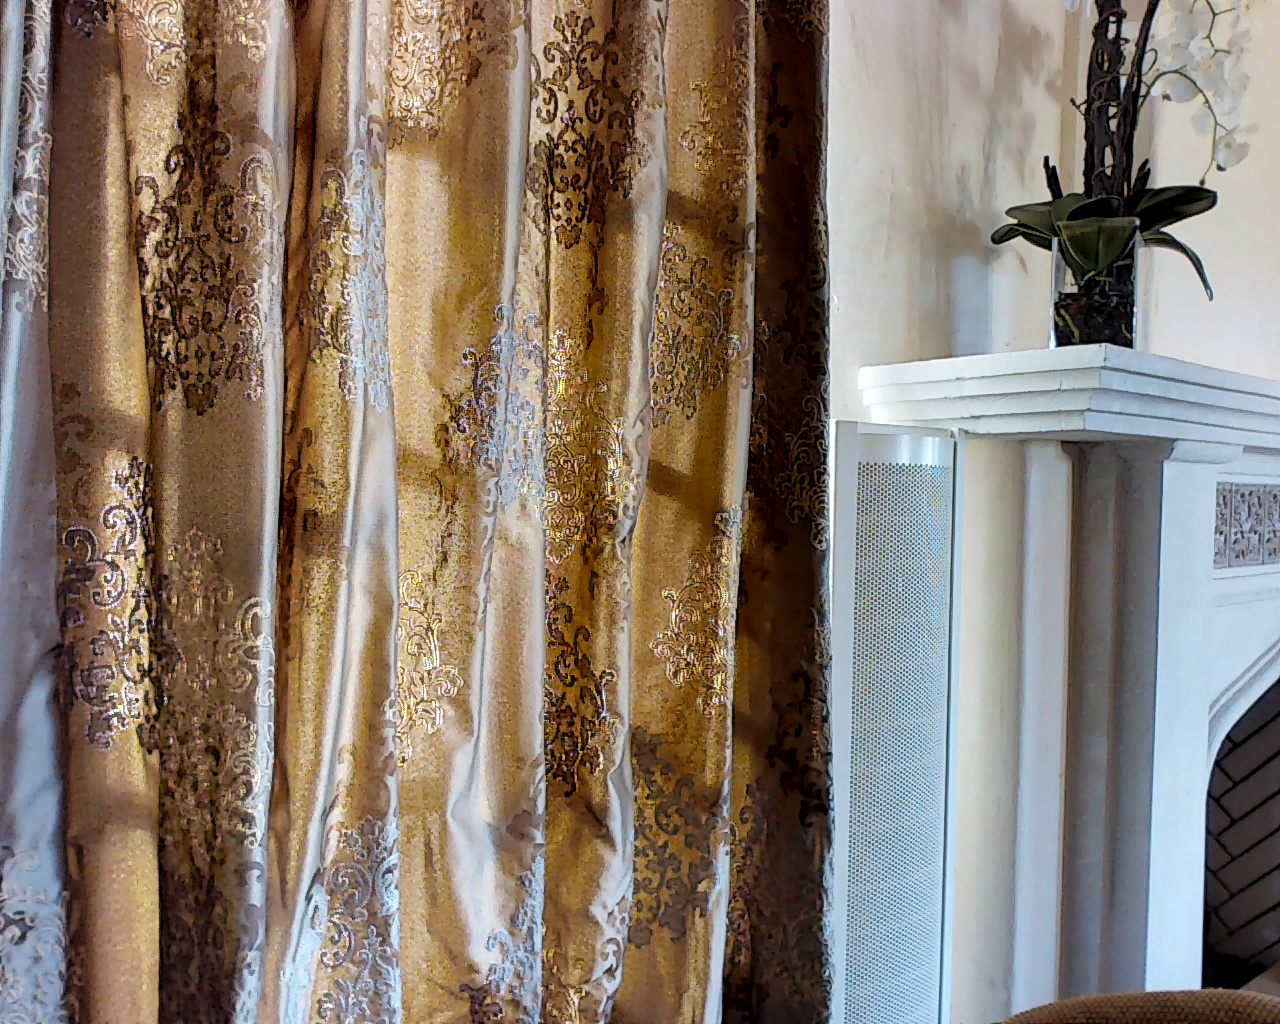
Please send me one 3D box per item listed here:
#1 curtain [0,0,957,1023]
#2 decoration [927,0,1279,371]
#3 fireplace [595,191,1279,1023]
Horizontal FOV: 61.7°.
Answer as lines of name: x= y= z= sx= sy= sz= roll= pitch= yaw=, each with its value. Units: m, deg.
curtain: x=-0.190 y=0.080 z=0.930 sx=1.250 sy=2.900 sz=0.220 roll=0 pitch=1 yaw=-40
decoration: x=0.740 y=-0.620 z=1.680 sx=0.440 sy=0.730 sz=0.360 roll=0 pitch=1 yaw=-40
fireplace: x=1.350 y=0.580 z=2.440 sx=2.660 sy=1.880 sz=1.290 roll=0 pitch=1 yaw=-40
